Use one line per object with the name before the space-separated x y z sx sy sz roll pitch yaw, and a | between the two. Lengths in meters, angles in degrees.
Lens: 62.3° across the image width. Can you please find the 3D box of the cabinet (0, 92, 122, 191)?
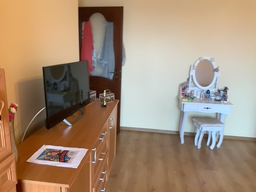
cabinet | -0.480 0.590 1.960 0.560 0.860 1.750 4 14 6
